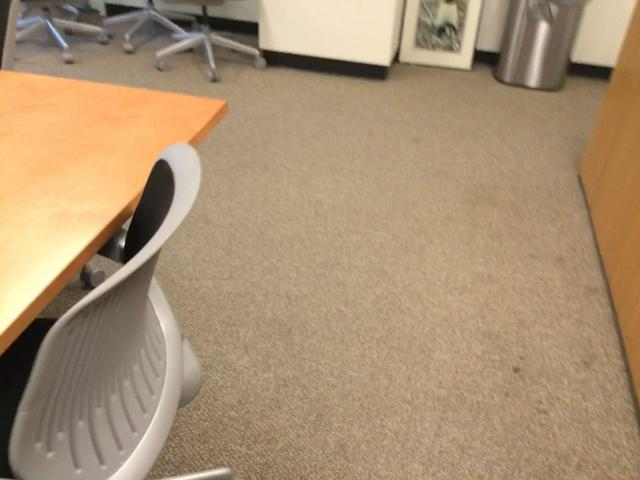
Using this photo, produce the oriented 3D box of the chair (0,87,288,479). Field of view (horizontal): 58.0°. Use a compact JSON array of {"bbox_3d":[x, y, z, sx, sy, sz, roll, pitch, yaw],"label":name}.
[{"bbox_3d":[-0.390,0.310,0.950,0.460,0.880,0.580,14,36,10],"label":"chair"}]
